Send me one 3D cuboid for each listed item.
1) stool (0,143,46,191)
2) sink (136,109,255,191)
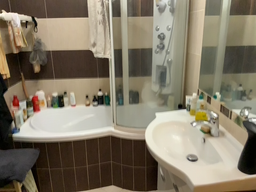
[{"bbox_3d":[-0.940,0.710,1.750,0.350,0.510,0.350,-2,18,-3],"label":"stool"},{"bbox_3d":[0.340,0.320,1.350,0.510,0.160,0.850,-2,18,-3],"label":"sink"}]
